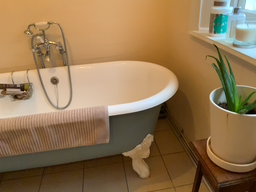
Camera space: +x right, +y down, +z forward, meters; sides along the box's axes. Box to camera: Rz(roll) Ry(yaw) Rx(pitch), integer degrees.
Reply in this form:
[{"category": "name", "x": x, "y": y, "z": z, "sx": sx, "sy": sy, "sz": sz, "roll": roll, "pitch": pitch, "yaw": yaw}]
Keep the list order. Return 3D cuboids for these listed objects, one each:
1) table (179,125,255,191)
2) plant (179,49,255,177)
[{"category": "table", "x": 0.400, "y": 0.480, "z": 0.940, "sx": 0.250, "sy": 0.630, "sz": 0.260, "roll": -9, "pitch": 29, "yaw": -8}, {"category": "plant", "x": 0.370, "y": 0.040, "z": 0.770, "sx": 0.240, "sy": 0.320, "sz": 0.300, "roll": -9, "pitch": 29, "yaw": -10}]
